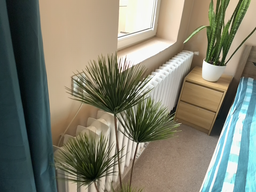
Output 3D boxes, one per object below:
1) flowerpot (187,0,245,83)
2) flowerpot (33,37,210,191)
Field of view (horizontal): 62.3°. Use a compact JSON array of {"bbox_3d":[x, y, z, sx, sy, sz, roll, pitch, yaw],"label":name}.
[{"bbox_3d":[0.840,-0.550,2.050,0.280,0.740,0.330,20,31,25],"label":"flowerpot"},{"bbox_3d":[-0.040,0.390,0.880,0.330,1.140,0.410,23,33,30],"label":"flowerpot"}]
